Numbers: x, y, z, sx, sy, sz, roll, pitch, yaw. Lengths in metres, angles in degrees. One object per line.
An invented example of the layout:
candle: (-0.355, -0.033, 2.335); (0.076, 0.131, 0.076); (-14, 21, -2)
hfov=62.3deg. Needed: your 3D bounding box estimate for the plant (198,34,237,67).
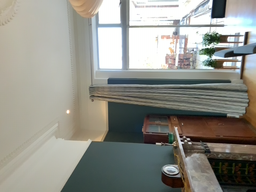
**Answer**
plant: (1.700, -0.880, 4.080); (0.300, 0.570, 0.590); (-66, -23, -75)
